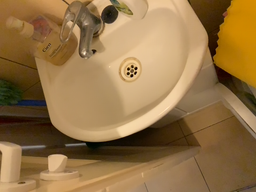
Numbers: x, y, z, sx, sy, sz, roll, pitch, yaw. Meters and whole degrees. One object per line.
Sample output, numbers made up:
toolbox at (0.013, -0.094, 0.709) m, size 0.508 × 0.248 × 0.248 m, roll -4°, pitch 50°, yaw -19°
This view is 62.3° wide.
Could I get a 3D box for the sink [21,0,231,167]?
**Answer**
sink at (-0.030, -0.060, 0.530) m, size 0.420 × 0.160 × 0.320 m, roll -27°, pitch 70°, yaw 20°
